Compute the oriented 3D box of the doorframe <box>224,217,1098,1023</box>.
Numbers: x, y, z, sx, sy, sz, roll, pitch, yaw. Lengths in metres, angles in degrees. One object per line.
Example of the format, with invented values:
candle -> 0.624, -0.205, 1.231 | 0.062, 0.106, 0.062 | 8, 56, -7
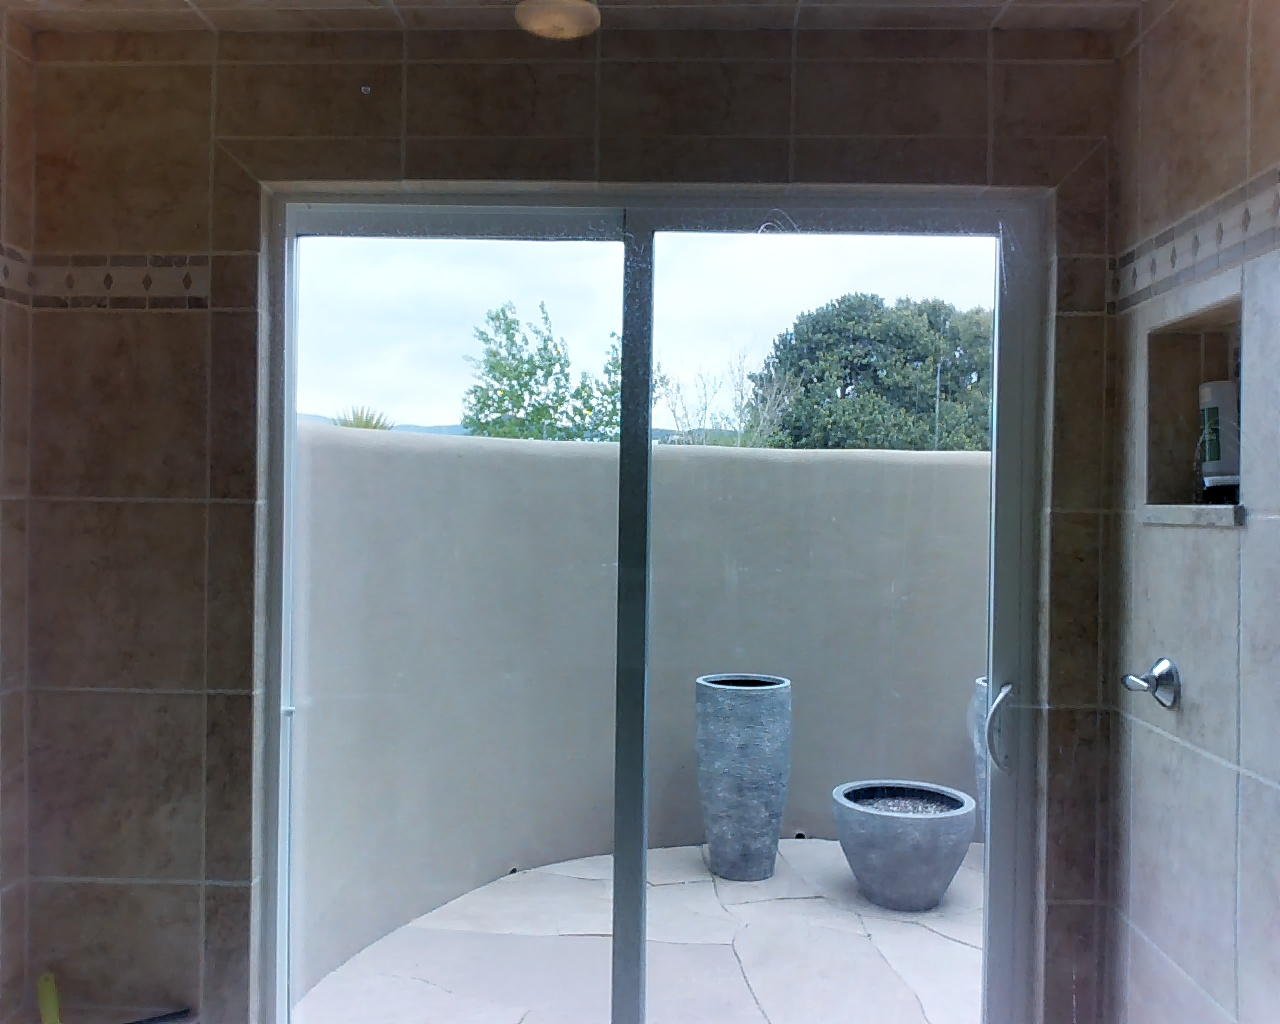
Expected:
doorframe -> 0.030, 0.440, 2.060 | 1.560, 1.930, 0.220 | 1, 0, 1
